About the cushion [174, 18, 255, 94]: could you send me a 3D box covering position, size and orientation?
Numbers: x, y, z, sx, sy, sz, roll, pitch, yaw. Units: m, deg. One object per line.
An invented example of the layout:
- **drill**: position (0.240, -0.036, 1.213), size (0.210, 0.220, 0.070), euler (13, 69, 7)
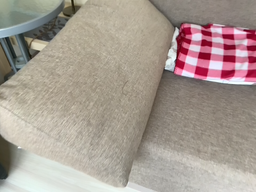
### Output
- **cushion**: position (0.500, -0.220, 1.090), size (0.440, 0.150, 0.350), euler (15, 46, 13)

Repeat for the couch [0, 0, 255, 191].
- **couch**: position (0.830, 0.080, 0.890), size (2.320, 0.830, 1.120), euler (15, 46, 12)
